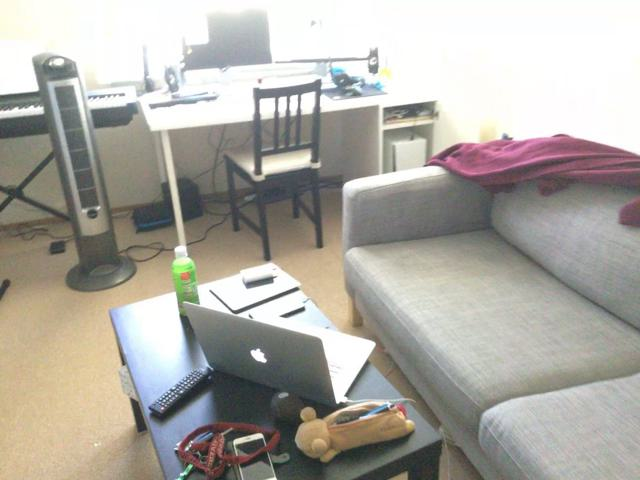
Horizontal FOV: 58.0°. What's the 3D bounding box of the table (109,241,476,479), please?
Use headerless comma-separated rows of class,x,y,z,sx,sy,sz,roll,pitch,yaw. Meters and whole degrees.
table,-0.160,0.490,1.530,0.650,0.520,0.950,-10,28,-17

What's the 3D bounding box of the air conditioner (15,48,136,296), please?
air conditioner,-1.060,-0.290,2.580,0.280,1.030,0.310,-10,28,-17

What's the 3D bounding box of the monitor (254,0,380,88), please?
monitor,-0.020,-1.080,3.110,0.580,0.400,0.340,-10,28,-17
